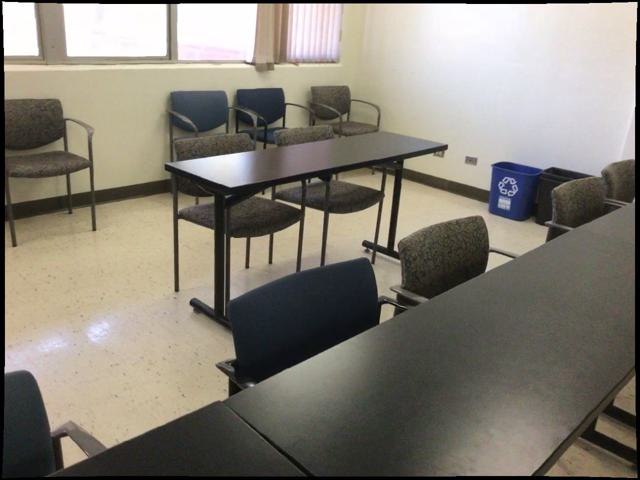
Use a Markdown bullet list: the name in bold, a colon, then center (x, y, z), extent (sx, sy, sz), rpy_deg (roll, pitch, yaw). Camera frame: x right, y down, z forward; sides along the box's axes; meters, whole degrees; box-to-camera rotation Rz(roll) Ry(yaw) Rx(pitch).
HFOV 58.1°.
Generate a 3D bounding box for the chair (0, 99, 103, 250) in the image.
- **chair**: center (-1.706, -0.421, 3.440), extent (0.529, 0.722, 0.549), rpy_deg (23, 28, 38)

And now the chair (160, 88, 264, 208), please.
- **chair**: center (-0.798, -0.702, 4.260), extent (0.529, 0.722, 0.519), rpy_deg (23, 28, 38)

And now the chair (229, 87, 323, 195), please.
- **chair**: center (-0.369, -0.822, 4.690), extent (0.479, 0.732, 0.549), rpy_deg (23, 28, 38)

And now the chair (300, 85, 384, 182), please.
- **chair**: center (0.190, -0.973, 5.170), extent (0.489, 0.732, 0.479), rpy_deg (23, 28, 38)

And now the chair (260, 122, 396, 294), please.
- **chair**: center (0.030, -0.211, 3.280), extent (0.509, 0.792, 0.499), rpy_deg (23, 28, 38)

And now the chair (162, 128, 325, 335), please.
- **chair**: center (-0.389, -0.080, 2.900), extent (0.509, 0.822, 0.579), rpy_deg (23, 28, 38)
